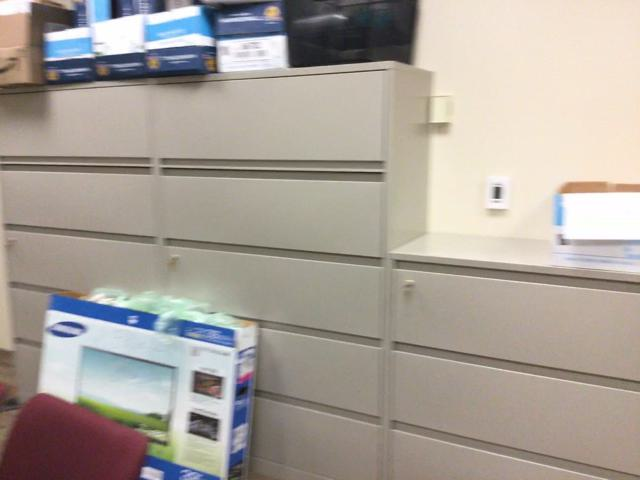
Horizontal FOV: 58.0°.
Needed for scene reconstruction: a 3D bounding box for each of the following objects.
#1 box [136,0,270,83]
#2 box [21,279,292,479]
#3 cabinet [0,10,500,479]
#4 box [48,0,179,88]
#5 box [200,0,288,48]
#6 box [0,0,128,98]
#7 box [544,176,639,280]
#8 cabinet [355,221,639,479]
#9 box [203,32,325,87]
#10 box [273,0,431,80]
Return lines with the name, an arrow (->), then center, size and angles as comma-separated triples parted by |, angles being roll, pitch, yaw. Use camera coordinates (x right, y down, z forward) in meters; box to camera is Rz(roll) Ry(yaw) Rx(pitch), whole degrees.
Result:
box -> -0.470, -0.810, 2.340 | 0.450, 0.280, 0.270 | 4, 8, 27
box -> -0.700, 0.630, 2.450 | 1.090, 0.780, 0.300 | 4, 17, 28
cabinet -> -0.480, 0.060, 2.600 | 2.350, 1.690, 0.550 | 4, 8, 27
box -> -0.900, -0.950, 2.520 | 0.450, 0.500, 0.300 | 4, 8, 27
box -> -0.280, -0.810, 2.110 | 0.350, 0.170, 0.050 | 4, 9, 28
box -> -1.370, -0.960, 2.780 | 0.650, 0.450, 0.520 | 4, 8, 27
box -> 0.910, -0.060, 1.810 | 0.320, 0.270, 0.500 | 4, 8, 27
cabinet -> 1.250, 0.540, 1.700 | 2.240, 1.050, 0.600 | 4, 8, 27
box -> -0.210, -0.680, 2.210 | 0.380, 0.130, 0.270 | 4, 8, 27
box -> 0.130, -0.840, 2.110 | 0.430, 0.410, 0.450 | 4, 8, 27
